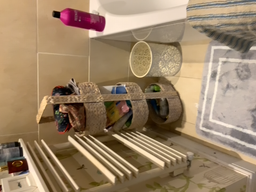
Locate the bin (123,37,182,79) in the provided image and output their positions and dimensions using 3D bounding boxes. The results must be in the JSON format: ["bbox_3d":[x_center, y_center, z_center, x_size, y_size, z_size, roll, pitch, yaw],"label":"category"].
[{"bbox_3d":[0.160,-0.240,1.380,0.160,0.340,0.240,18,108,53],"label":"bin"}]
